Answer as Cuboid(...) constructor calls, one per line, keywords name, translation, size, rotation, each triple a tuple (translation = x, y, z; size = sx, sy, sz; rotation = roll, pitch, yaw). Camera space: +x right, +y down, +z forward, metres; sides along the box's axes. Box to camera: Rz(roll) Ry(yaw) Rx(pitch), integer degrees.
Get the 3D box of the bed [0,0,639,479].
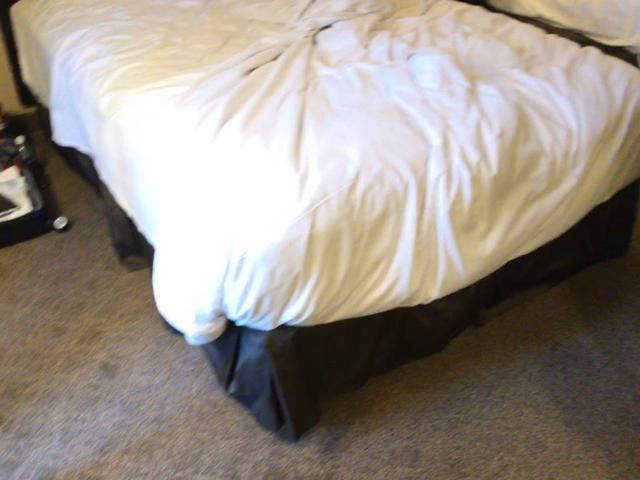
Cuboid(name="bed", translation=(-0.050, -0.710, 1.980), size=(1.730, 1.400, 2.300), rotation=(-22, 41, -26))
